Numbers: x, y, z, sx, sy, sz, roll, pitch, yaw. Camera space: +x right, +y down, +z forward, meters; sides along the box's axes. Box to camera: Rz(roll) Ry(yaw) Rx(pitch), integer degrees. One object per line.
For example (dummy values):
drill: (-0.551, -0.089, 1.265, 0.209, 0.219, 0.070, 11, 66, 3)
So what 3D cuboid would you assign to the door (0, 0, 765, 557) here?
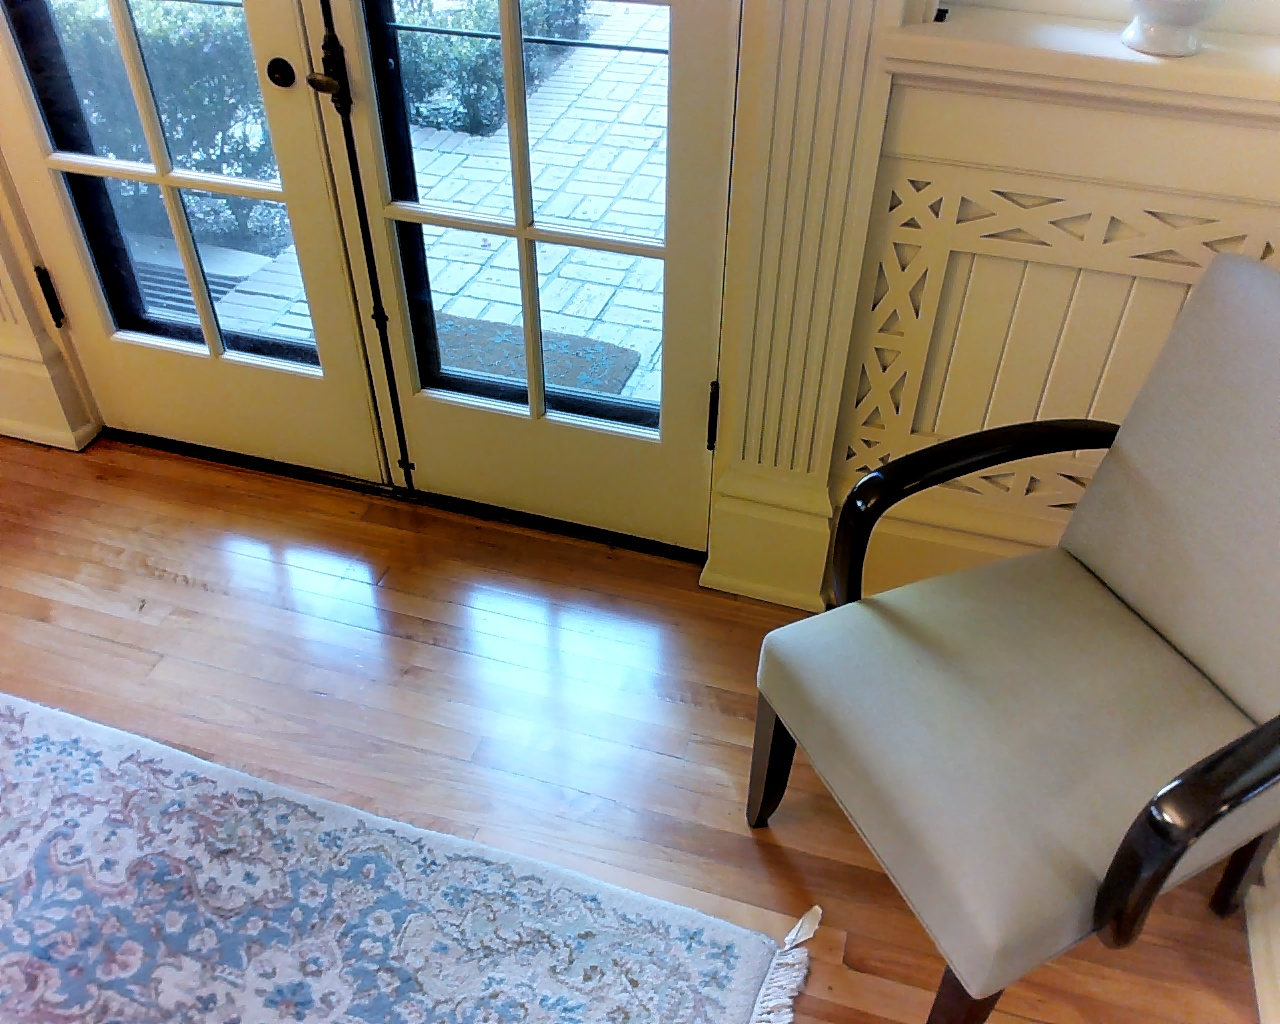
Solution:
door: (-0.570, -1.020, 1.680, 1.550, 2.410, 0.180, 12, 42, 12)
